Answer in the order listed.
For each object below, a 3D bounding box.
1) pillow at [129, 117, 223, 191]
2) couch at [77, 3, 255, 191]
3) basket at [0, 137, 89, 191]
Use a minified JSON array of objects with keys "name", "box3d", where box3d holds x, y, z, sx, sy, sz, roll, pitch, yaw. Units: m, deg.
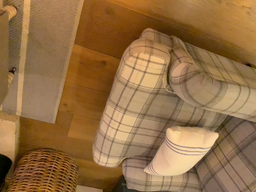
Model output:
[{"name":"pillow","box3d":[0.220,0.340,1.140,0.320,0.120,0.480,10,131,-10]},{"name":"couch","box3d":[0.350,0.260,1.180,1.050,0.920,0.900,14,130,-13]},{"name":"basket","box3d":[-0.770,0.810,1.910,0.630,0.500,0.590,17,130,-15]}]
